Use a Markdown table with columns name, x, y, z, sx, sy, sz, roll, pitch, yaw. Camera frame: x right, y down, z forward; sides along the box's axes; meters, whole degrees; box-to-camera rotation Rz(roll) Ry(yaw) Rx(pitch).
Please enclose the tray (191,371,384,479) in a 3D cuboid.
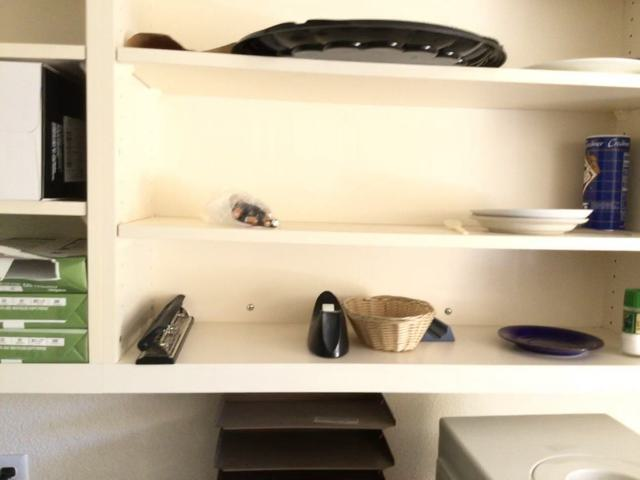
| name | x | y | z | sx | sy | sz | roll | pitch | yaw |
| --- | --- | --- | --- | --- | --- | --- | --- | --- | --- |
| tray | -0.070 | 0.510 | 1.100 | 0.320 | 0.450 | 0.240 | 3 | 3 | -4 |
